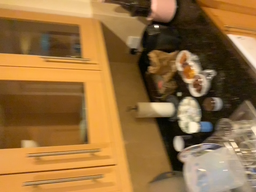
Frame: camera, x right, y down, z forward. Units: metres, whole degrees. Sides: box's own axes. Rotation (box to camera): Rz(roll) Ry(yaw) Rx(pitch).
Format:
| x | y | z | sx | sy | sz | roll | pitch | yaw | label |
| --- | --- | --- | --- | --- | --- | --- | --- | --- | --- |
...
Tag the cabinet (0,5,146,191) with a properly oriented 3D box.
| x | y | z | sx | sy | sz | roll | pitch | yaw | label |
| --- | --- | --- | --- | --- | --- | --- | --- | --- | --- |
| -0.450 | 0.170 | 0.930 | 0.360 | 0.850 | 1.490 | 111 | 153 | -45 | cabinet |
